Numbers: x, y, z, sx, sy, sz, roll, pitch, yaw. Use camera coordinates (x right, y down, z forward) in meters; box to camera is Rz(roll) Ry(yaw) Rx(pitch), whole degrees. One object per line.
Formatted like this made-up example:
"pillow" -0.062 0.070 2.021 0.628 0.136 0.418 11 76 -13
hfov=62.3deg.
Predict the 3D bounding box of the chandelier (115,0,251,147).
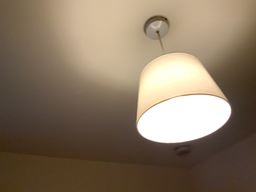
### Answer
"chandelier" 0.130 -0.090 0.690 0.280 0.390 0.270 -9 143 4
